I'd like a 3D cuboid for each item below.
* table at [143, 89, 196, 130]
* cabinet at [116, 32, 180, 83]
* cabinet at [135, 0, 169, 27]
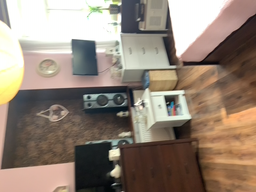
[{"bbox_3d":[0.660,0.220,3.510,0.460,0.650,0.500,110,154,-62],"label":"table"},{"bbox_3d":[0.340,-0.740,4.000,0.430,0.980,0.840,109,155,-60],"label":"cabinet"},{"bbox_3d":[0.430,-1.640,3.980,0.510,0.480,0.610,-117,26,-63],"label":"cabinet"}]
